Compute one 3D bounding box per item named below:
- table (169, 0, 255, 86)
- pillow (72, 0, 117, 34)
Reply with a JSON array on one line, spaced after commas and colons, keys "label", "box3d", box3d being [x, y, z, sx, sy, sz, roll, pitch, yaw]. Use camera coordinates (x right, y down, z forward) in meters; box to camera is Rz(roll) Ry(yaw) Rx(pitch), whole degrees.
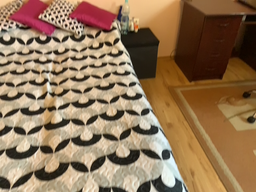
[{"label": "table", "box3d": [1.250, -0.680, 2.410, 1.290, 0.740, 0.680, -7, 39, -10]}, {"label": "pillow", "box3d": [-0.300, -0.770, 2.040, 0.350, 0.200, 0.380, 2, 38, 1]}]
